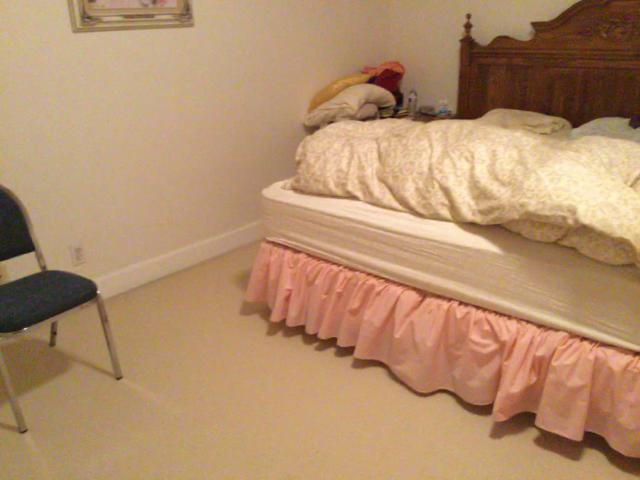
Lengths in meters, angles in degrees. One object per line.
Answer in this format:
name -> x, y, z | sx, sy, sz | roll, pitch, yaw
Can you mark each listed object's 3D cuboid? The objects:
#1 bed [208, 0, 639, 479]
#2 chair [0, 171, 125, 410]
bed -> 1.030, -0.450, 2.750 | 1.960, 1.680, 2.270 | 12, 19, 40
chair -> -1.200, 0.140, 2.280 | 0.740, 0.700, 0.420 | 13, 22, 40
